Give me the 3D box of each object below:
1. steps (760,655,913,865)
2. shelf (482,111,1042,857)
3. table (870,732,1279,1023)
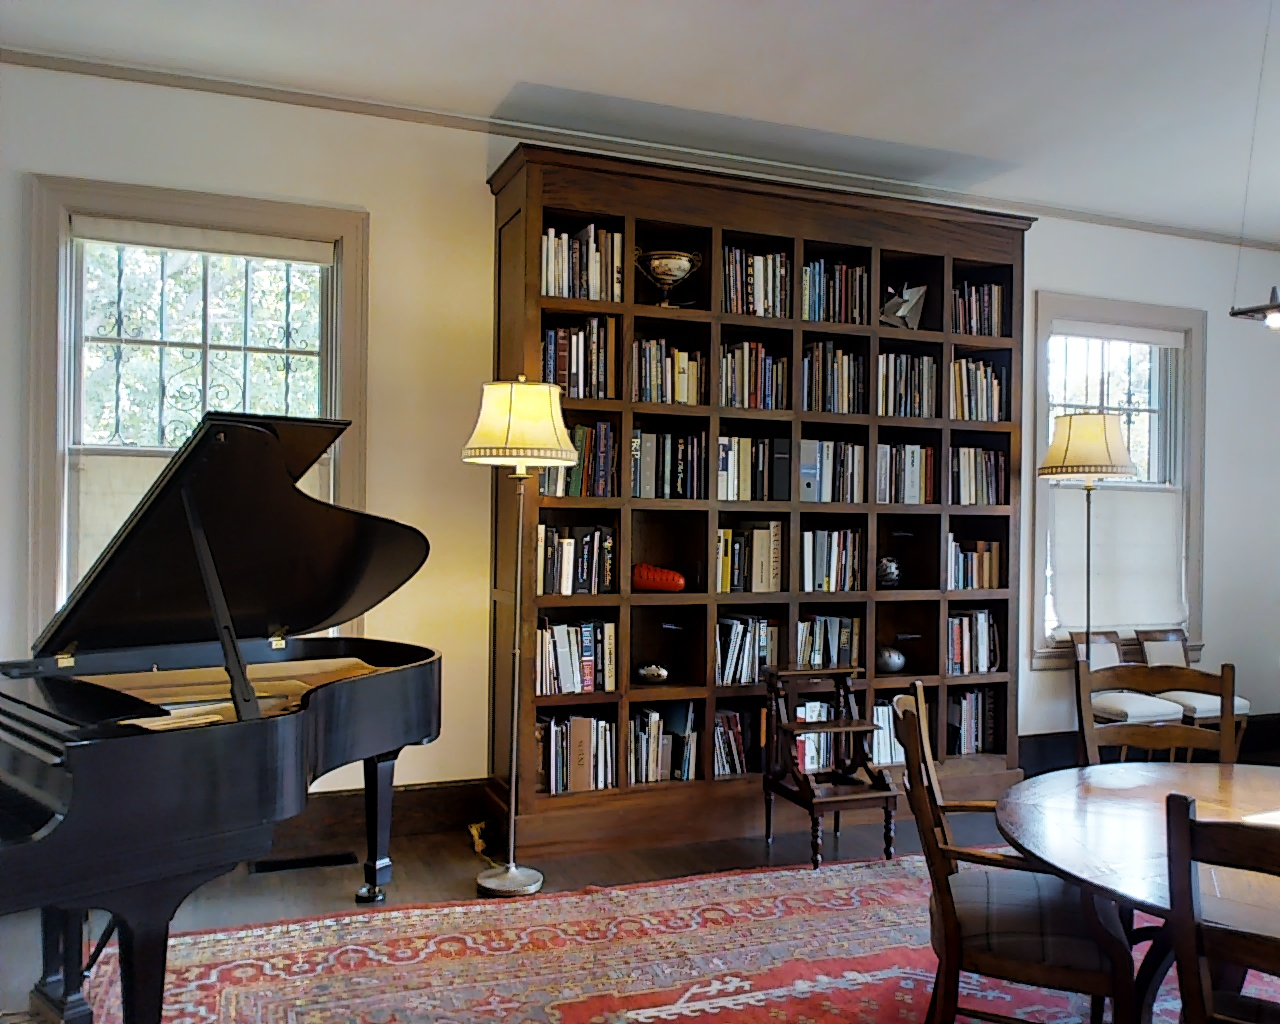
[{"bbox_3d":[0.870,1.080,4.820,0.450,0.790,0.540,0,0,-22],"label":"steps"},{"bbox_3d":[0.680,-0.110,5.370,2.830,3.190,0.550,0,0,-22],"label":"shelf"},{"bbox_3d":[1.740,1.120,2.590,1.640,0.730,1.700,0,0,-22],"label":"table"}]
